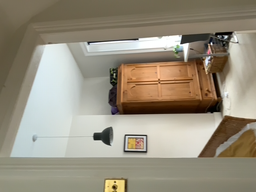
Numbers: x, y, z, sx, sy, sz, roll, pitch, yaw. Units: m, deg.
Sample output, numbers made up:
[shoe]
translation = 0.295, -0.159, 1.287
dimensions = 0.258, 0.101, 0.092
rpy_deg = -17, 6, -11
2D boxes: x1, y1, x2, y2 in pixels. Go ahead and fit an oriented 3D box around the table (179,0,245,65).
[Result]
[table]
translation = 1.270, -1.070, 3.450
dimensions = 0.980, 0.720, 0.630
rpy_deg = 78, -167, -60
